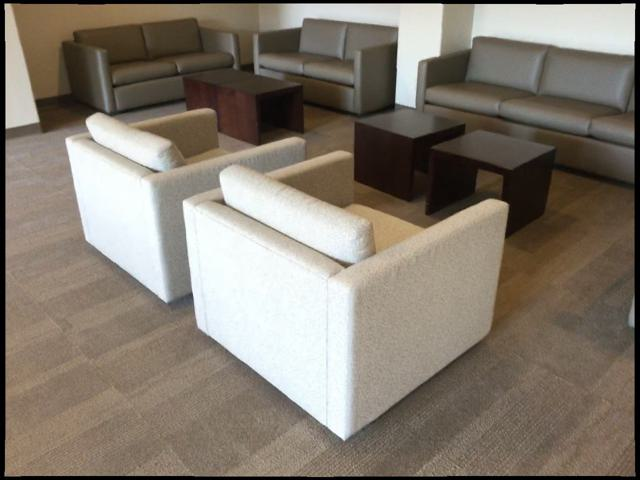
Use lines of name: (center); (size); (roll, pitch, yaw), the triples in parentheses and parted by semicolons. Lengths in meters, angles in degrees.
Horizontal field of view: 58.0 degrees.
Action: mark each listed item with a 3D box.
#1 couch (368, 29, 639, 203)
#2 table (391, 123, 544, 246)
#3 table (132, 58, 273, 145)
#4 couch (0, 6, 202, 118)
couch: (1.627, -1.032, 4.380); (2.388, 0.741, 0.929); (23, 34, 34)
table: (0.848, -0.351, 3.360); (0.619, 0.431, 0.560); (23, 34, 35)
table: (-0.978, -1.182, 4.810); (1.049, 0.431, 0.600); (23, 34, 35)
couch: (-2.096, -1.784, 5.580); (0.879, 0.721, 1.649); (23, 34, 34)
